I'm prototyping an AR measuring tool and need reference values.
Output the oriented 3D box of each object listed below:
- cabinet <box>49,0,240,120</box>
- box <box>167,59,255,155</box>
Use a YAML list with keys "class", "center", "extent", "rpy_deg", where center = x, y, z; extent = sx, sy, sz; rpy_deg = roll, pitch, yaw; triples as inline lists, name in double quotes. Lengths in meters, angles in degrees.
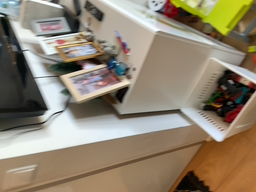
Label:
- class: "cabinet"
  center: [0.070, -0.320, 1.430]
  extent: [0.900, 0.830, 0.420]
  rpy_deg: [44, 122, 38]
- class: "box"
  center: [0.540, 0.050, 1.210]
  extent: [0.300, 0.420, 0.380]
  rpy_deg: [46, 123, 37]
